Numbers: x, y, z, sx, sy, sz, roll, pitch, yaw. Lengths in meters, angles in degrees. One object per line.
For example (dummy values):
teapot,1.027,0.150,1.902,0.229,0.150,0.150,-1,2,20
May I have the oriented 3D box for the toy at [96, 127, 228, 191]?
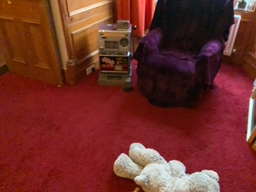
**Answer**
toy,0.240,0.560,1.470,0.760,0.230,0.470,15,39,20
